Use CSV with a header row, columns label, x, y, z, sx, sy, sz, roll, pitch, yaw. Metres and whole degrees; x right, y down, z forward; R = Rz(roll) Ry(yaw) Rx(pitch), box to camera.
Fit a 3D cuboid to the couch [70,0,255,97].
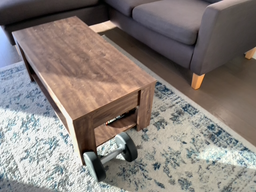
label,x,y,z,sx,sy,sz,roll,pitch,yaw
couch,0.260,-1.070,2.100,0.970,0.880,2.000,-26,50,-26
